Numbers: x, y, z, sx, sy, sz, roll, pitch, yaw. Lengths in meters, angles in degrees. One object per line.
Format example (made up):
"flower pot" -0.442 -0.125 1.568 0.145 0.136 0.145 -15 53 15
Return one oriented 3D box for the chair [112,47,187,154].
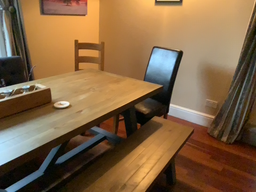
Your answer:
"chair" 0.220 0.010 2.410 0.620 1.010 0.470 -15 27 -39
